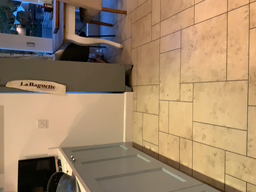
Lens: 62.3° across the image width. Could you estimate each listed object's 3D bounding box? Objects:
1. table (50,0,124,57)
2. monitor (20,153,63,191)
[{"bbox_3d":[-0.610,-1.580,3.020,0.870,0.810,1.840,3,92,63],"label":"table"},{"bbox_3d":[-0.800,0.770,1.940,0.530,0.340,0.050,61,140,44],"label":"monitor"}]
